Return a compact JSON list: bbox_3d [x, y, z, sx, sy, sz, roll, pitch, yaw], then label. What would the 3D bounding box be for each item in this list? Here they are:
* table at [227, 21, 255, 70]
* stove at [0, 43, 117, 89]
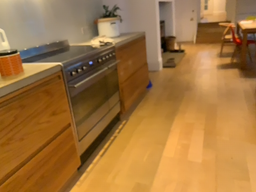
[{"bbox_3d":[2.770,-1.200,4.670,0.910,0.730,2.080,4,23,21],"label":"table"},{"bbox_3d":[-0.590,-0.320,1.980,0.660,0.190,0.900,3,23,20],"label":"stove"}]
